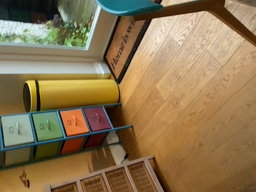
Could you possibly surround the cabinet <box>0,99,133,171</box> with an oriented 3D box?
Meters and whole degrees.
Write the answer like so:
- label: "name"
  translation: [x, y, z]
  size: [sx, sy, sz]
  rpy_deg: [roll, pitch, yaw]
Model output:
- label: "cabinet"
  translation: [-0.610, 0.300, 1.800]
  size: [0.320, 1.270, 0.350]
  rpy_deg: [61, 139, 31]
